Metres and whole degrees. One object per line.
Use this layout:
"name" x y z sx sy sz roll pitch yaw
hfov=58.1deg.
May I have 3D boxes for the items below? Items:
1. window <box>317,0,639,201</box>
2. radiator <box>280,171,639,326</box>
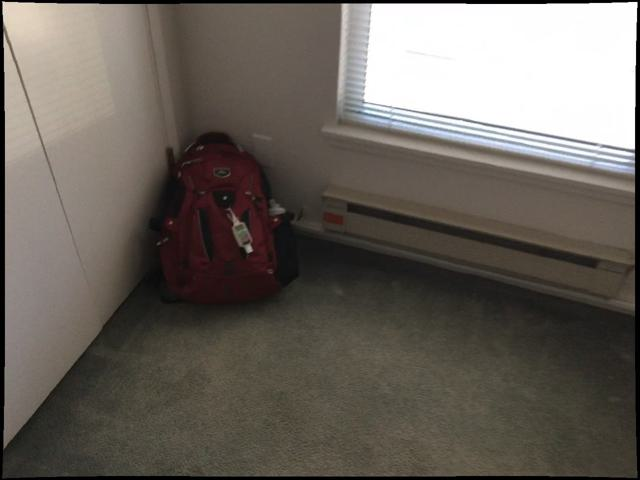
"window" 0.499 -0.602 1.410 0.968 0.911 0.140 14 40 11
"radiator" 0.399 0.020 1.860 1.088 0.260 0.080 14 40 11
